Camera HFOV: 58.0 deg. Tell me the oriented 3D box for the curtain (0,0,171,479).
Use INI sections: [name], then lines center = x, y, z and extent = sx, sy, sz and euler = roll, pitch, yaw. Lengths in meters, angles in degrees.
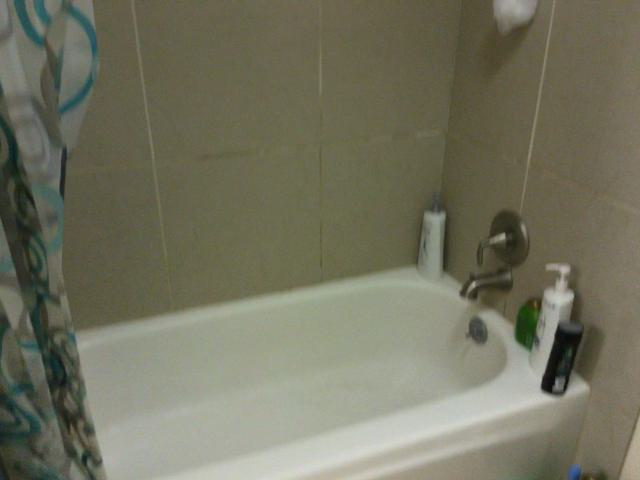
[curtain]
center = -0.510, -0.030, 0.990
extent = 0.380, 1.550, 0.420
euler = -7, 24, -18
